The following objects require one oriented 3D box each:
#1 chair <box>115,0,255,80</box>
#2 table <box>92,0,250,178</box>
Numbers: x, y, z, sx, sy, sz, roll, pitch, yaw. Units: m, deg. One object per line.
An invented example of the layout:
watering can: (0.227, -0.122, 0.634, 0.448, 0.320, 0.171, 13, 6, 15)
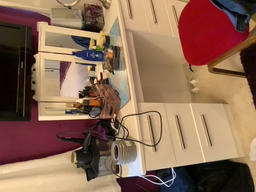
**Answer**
chair: (0.450, -0.430, 1.080, 0.580, 0.840, 0.480, 141, 126, -59)
table: (0.230, -0.120, 1.610, 0.510, 0.790, 1.270, 139, 127, -58)
